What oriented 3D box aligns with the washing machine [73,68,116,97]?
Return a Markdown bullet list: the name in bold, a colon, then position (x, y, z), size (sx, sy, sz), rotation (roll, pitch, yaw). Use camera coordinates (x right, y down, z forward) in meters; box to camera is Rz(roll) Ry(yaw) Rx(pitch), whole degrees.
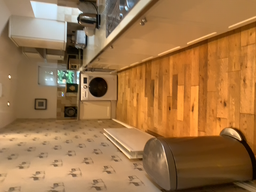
- **washing machine**: position (-0.820, -0.300, 5.070), size (0.700, 0.890, 0.610), rotation (-173, 84, -70)
